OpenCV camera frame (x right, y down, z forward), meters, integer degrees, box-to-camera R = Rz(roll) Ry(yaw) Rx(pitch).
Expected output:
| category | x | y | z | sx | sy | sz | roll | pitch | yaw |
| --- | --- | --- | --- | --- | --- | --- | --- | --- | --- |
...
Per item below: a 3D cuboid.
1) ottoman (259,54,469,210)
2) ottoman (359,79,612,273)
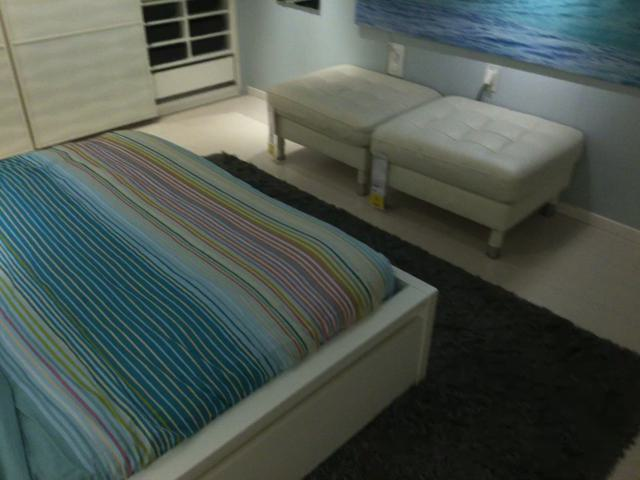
| category | x | y | z | sx | sy | sz | roll | pitch | yaw |
| --- | --- | --- | --- | --- | --- | --- | --- | --- | --- |
| ottoman | 0.210 | -0.610 | 3.020 | 0.630 | 0.440 | 0.850 | -28 | 42 | -36 |
| ottoman | 0.700 | -0.340 | 2.580 | 0.640 | 0.450 | 0.820 | -28 | 42 | -36 |
